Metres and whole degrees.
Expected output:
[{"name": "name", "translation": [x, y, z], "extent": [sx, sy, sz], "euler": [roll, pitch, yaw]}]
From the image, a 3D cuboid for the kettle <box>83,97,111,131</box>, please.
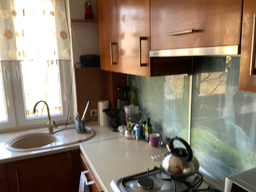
[{"name": "kettle", "translation": [-0.340, 0.190, 2.340], "extent": [0.250, 0.310, 0.160], "euler": [-6, 12, -27]}]
